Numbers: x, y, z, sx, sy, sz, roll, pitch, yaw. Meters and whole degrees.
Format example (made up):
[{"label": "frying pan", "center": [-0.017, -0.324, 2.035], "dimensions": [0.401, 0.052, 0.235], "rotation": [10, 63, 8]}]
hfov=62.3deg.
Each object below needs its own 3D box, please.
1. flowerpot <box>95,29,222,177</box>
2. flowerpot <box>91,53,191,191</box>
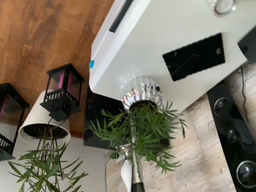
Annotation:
[{"label": "flowerpot", "center": [0.080, 0.030, 0.730], "dimensions": [0.310, 0.390, 0.200], "rotation": [21, 135, -29]}, {"label": "flowerpot", "center": [0.040, 0.240, 0.990], "dimensions": [0.340, 0.910, 0.230], "rotation": [20, 136, -27]}]
